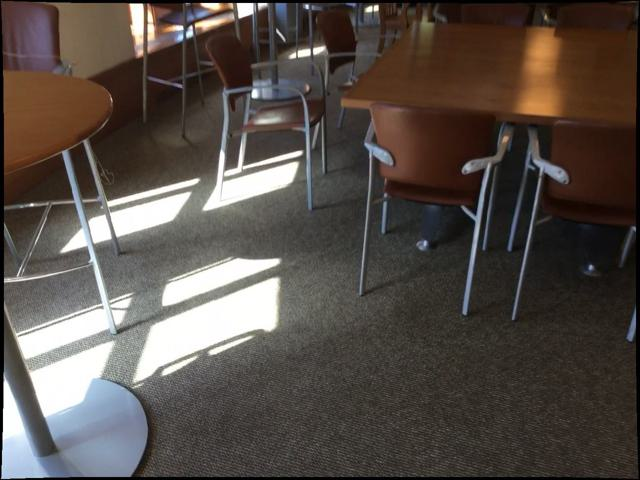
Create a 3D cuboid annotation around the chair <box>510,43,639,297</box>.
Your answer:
[{"bbox_3d":[1.087,-0.301,2.290,0.549,0.791,0.630,6,32,17],"label":"chair"}]

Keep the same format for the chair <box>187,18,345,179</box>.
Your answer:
[{"bbox_3d":[-0.239,-0.752,3.000,0.579,0.651,0.560,6,32,17],"label":"chair"}]
